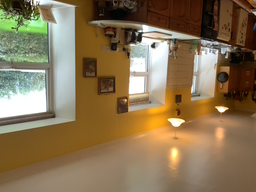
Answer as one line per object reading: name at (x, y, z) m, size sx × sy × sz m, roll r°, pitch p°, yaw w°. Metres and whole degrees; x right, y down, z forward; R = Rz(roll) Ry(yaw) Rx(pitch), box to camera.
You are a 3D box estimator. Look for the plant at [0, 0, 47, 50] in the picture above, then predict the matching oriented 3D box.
plant at (-1.270, -0.860, 2.490) m, size 0.500 × 0.570 × 0.310 m, roll -6°, pitch -169°, yaw -43°
